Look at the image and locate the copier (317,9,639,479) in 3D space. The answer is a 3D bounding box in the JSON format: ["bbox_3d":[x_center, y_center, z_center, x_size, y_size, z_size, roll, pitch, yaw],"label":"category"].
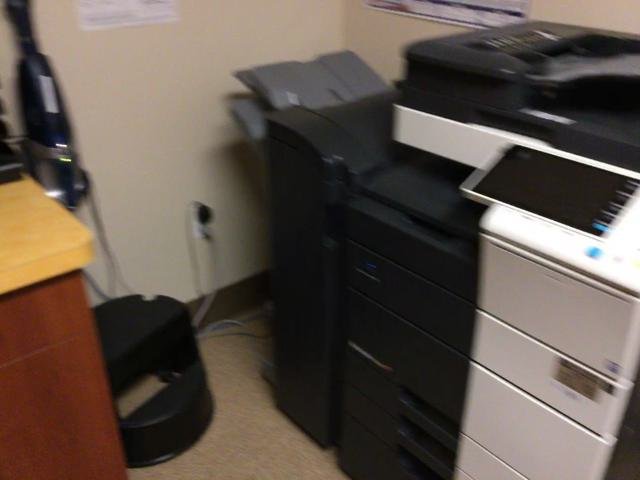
[{"bbox_3d":[0.490,0.150,1.330,0.690,1.150,0.680,-25,37,-35],"label":"copier"}]
